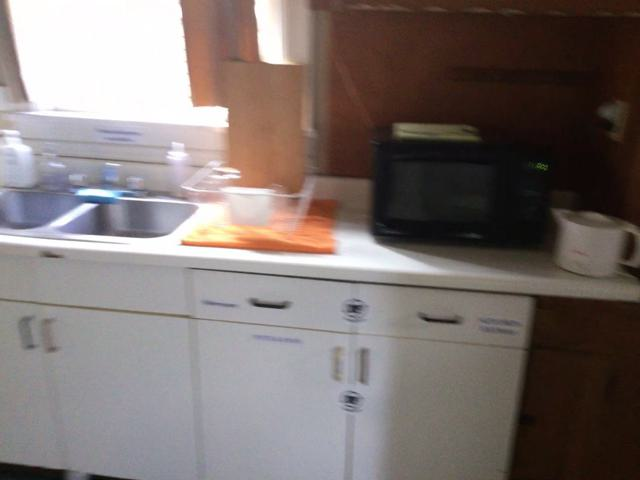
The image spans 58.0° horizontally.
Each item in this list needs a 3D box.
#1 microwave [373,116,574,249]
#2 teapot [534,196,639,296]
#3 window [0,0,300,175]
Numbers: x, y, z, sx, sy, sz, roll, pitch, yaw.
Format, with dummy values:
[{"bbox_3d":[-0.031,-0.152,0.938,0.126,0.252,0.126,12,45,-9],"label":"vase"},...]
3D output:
[{"bbox_3d":[0.430,-0.200,1.800,0.510,0.300,0.440,3,18,4],"label":"microwave"},{"bbox_3d":[0.690,0.010,1.520,0.170,0.200,0.200,3,18,4],"label":"teapot"},{"bbox_3d":[-0.630,-0.920,1.920,1.090,1.300,0.400,3,18,4],"label":"window"}]
